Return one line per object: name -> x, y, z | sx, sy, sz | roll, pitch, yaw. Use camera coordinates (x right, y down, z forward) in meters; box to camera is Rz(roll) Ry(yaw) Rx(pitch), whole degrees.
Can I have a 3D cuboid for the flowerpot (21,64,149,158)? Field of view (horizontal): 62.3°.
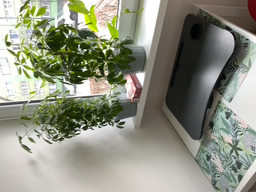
flowerpot -> -0.320, 0.030, 1.480 | 0.680, 0.680, 0.280 | -127, 37, -56
